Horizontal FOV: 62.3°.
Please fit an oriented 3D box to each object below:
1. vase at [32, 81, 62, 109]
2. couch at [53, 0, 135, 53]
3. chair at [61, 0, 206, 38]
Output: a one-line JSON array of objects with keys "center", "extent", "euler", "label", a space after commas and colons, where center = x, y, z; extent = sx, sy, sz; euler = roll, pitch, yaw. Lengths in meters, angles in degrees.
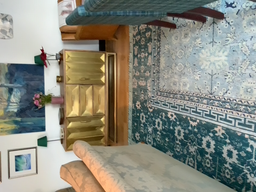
[{"center": [-1.220, -0.020, 3.190], "extent": [0.150, 0.400, 0.410], "euler": [5, 96, 63], "label": "vase"}, {"center": [-0.540, -1.220, 2.950], "extent": [0.970, 0.770, 0.780], "euler": [-43, 54, 55], "label": "couch"}, {"center": [0.050, -0.780, 1.590], "extent": [0.460, 0.990, 0.550], "euler": [22, 111, 61], "label": "chair"}]
